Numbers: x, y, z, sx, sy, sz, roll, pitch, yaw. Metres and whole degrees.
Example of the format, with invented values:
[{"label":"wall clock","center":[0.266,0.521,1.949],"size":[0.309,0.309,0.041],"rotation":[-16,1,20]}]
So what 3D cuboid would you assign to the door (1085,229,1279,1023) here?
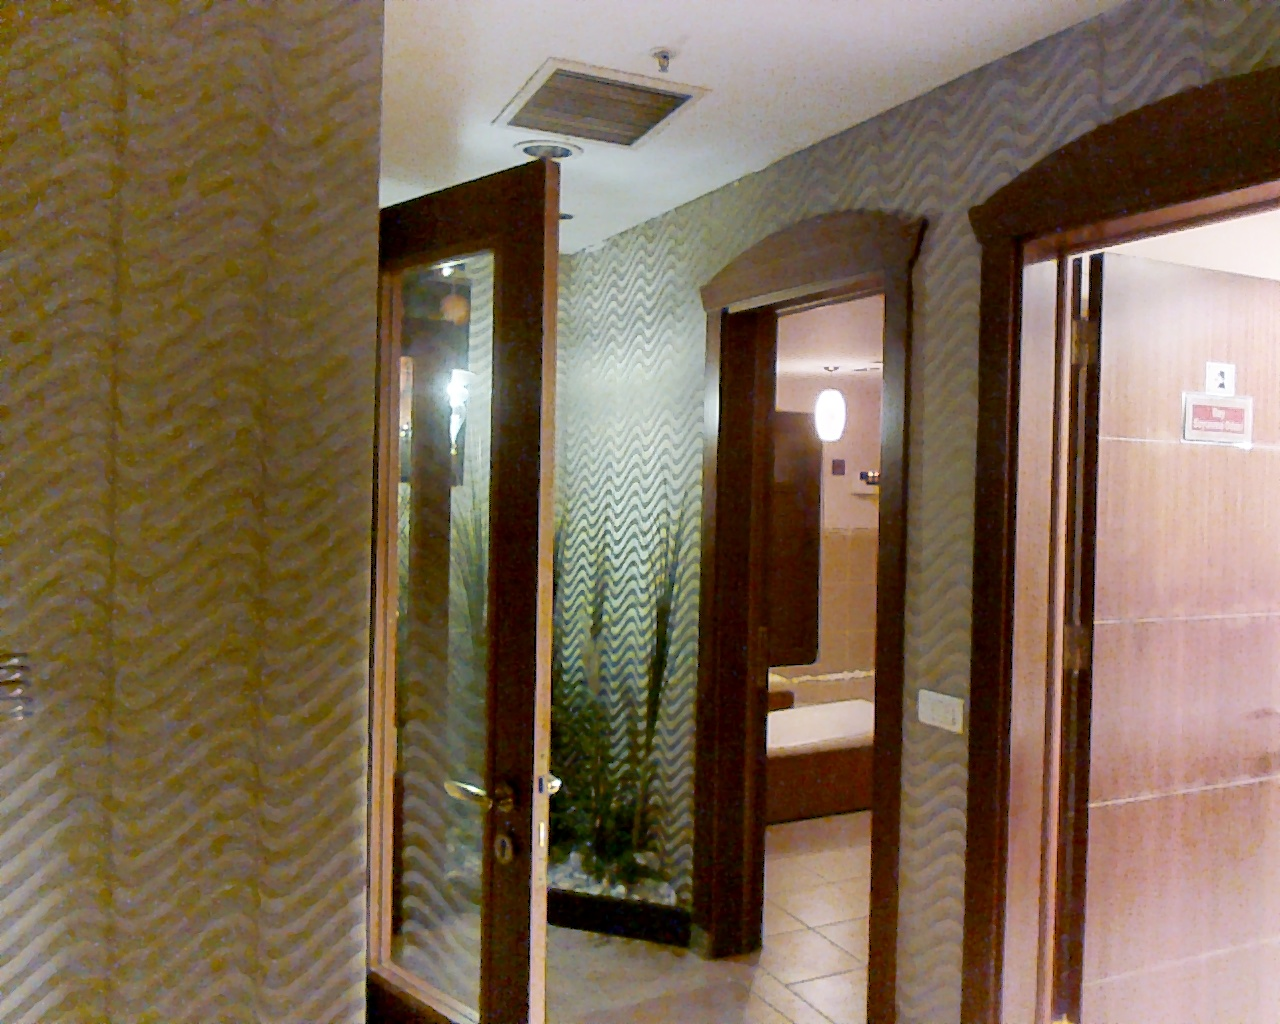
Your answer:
[{"label":"door","center":[1.430,0.480,2.650],"size":[0.840,2.230,0.050],"rotation":[1,1,-26]}]
